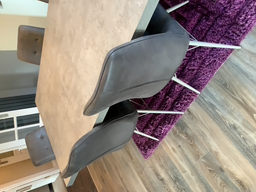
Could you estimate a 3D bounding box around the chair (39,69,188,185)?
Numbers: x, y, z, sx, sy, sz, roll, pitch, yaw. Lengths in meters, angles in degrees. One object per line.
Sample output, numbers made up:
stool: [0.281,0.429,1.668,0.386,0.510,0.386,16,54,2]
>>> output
chair: [-0.110,0.160,1.610,0.530,0.900,0.440,53,136,31]

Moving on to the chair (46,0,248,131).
chair: [0.110,-0.250,1.200,0.530,0.920,0.440,53,136,31]
